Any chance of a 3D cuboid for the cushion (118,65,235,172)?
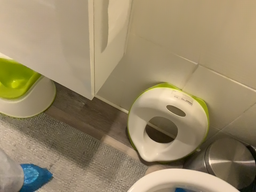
[{"bbox_3d":[0.150,0.110,0.820,0.310,0.360,0.150,28,59,7],"label":"cushion"}]
